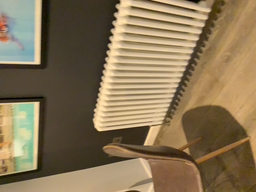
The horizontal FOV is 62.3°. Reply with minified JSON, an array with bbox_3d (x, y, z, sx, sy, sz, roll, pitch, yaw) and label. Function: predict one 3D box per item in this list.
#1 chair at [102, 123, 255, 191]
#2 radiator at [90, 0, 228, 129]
[{"bbox_3d":[0.310,0.450,1.280,0.430,0.790,0.480,-12,82,61],"label":"chair"},{"bbox_3d":[0.180,-0.200,1.540,0.170,0.730,0.960,56,139,43],"label":"radiator"}]
